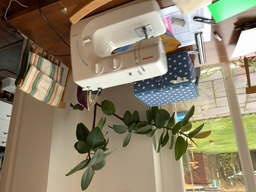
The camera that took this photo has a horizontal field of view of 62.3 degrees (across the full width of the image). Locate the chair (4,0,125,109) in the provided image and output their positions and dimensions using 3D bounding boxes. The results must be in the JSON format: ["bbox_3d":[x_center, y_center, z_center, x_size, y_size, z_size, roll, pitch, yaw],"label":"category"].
[{"bbox_3d":[-0.330,-0.460,1.330,0.470,0.940,0.440,-9,158,17],"label":"chair"}]

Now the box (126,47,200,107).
[{"bbox_3d":[0.210,-0.090,1.250,0.350,0.190,0.290,-11,157,21],"label":"box"}]
